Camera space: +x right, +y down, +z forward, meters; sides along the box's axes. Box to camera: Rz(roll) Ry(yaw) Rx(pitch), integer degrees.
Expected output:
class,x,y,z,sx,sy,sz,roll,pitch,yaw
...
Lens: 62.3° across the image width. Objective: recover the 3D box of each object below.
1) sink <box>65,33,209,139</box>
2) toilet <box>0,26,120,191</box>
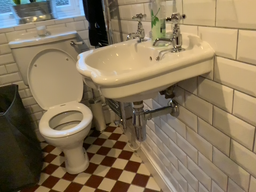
class,x,y,z,sx,sy,sz,roll,pitch,yaw
sink,-0.010,-0.090,0.780,0.360,0.180,0.460,-14,25,-15
toilet,-0.480,0.040,1.560,0.530,0.940,0.710,-14,25,-15
